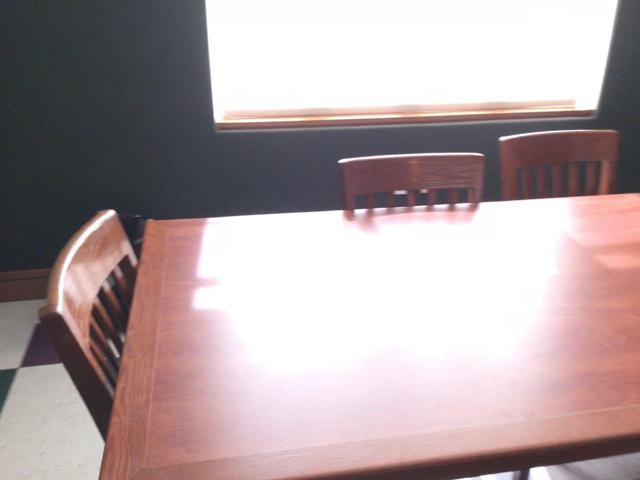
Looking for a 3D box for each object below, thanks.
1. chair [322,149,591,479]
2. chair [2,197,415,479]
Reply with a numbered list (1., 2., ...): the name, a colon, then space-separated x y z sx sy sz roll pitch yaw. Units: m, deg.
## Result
1. chair: 0.290 0.260 1.590 0.470 0.880 0.520 -5 25 -11
2. chair: -0.190 0.440 1.200 0.540 0.880 0.570 -5 25 -11
